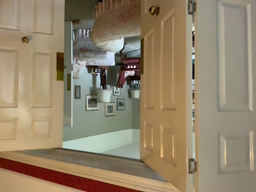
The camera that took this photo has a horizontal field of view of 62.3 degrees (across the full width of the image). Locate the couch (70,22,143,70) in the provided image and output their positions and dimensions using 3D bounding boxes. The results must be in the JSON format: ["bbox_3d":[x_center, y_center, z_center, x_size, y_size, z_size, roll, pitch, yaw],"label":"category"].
[{"bbox_3d":[-0.450,-1.040,4.660,1.420,0.750,1.000,0,178,-5],"label":"couch"}]

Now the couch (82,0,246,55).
[{"bbox_3d":[0.390,-1.070,2.710,1.870,0.690,0.840,-1,178,34],"label":"couch"}]
